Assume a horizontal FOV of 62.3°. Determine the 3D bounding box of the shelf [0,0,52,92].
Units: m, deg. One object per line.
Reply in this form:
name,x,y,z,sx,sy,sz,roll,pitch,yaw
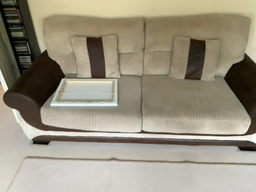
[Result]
shelf,-1.100,-0.570,2.240,0.280,1.160,0.200,1,37,3
